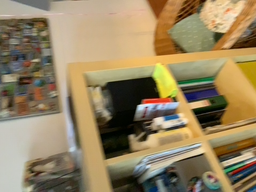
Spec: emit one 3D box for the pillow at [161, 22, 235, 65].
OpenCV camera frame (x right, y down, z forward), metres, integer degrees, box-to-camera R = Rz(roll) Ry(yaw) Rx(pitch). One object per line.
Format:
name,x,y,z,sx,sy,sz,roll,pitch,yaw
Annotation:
pillow,0.430,-0.350,1.360,0.340,0.290,0.120,-118,28,-44

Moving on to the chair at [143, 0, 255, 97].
chair,0.660,-0.490,1.360,0.610,0.860,0.640,-117,27,-42
